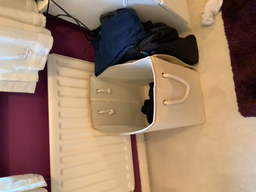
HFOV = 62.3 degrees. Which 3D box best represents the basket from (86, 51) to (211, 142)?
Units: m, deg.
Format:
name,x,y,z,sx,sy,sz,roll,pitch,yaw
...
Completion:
name,x,y,z,sx,sy,sz,roll,pitch,yaw
basket,0.110,0.040,1.130,0.430,0.470,0.330,-16,76,40
